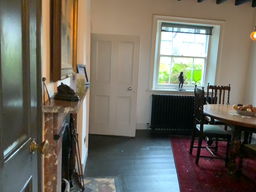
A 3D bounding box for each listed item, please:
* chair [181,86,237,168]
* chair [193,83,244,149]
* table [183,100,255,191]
[{"bbox_3d":[1.110,0.410,3.000,0.530,1.040,0.420,3,9,1],"label":"chair"},{"bbox_3d":[1.560,0.320,3.740,0.520,1.040,0.560,2,9,-5],"label":"chair"},{"bbox_3d":[1.510,0.580,2.920,1.140,0.770,1.370,3,9,2],"label":"table"}]
